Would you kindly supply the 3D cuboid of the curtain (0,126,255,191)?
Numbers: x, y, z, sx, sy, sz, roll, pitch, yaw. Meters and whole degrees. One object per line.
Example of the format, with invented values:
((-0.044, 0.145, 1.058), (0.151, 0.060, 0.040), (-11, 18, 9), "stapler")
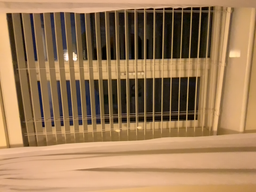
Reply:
((0.330, 0.410, 1.000), (0.300, 2.380, 0.410), (-114, 23, -74), "curtain")
